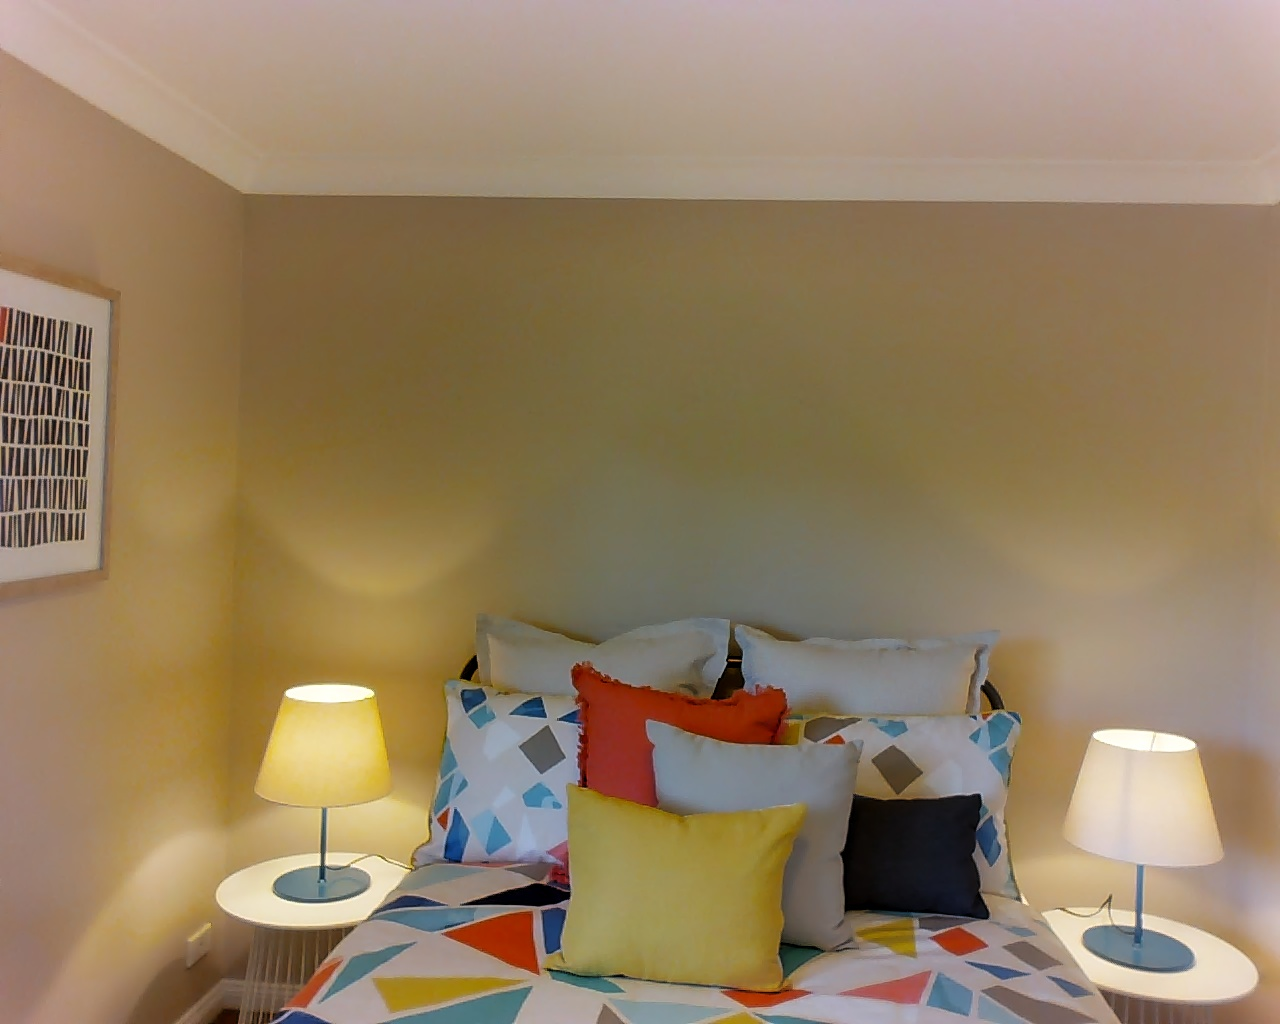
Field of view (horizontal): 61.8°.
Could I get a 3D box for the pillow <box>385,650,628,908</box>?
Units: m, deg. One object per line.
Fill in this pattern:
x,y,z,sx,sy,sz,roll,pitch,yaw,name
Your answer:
-0.300,0.610,2.500,0.420,0.450,0.260,-15,-1,4,pillow

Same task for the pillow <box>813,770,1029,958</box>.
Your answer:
0.570,0.720,2.210,0.360,0.270,0.190,-11,0,5,pillow

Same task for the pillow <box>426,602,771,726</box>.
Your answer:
-0.090,0.380,2.770,0.830,0.220,0.390,2,1,5,pillow

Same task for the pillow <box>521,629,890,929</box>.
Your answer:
0.140,0.560,2.310,0.670,0.470,0.300,-10,0,5,pillow

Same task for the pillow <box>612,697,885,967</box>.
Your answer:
0.210,0.620,2.110,0.450,0.410,0.230,-9,0,5,pillow

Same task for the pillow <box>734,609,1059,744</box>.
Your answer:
0.610,0.400,2.700,0.730,0.230,0.440,2,1,5,pillow

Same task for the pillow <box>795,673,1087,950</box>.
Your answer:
0.640,0.640,2.330,0.510,0.470,0.220,-9,0,2,pillow

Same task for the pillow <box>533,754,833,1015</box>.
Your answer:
0.080,0.660,1.930,0.460,0.330,0.240,-9,0,5,pillow
